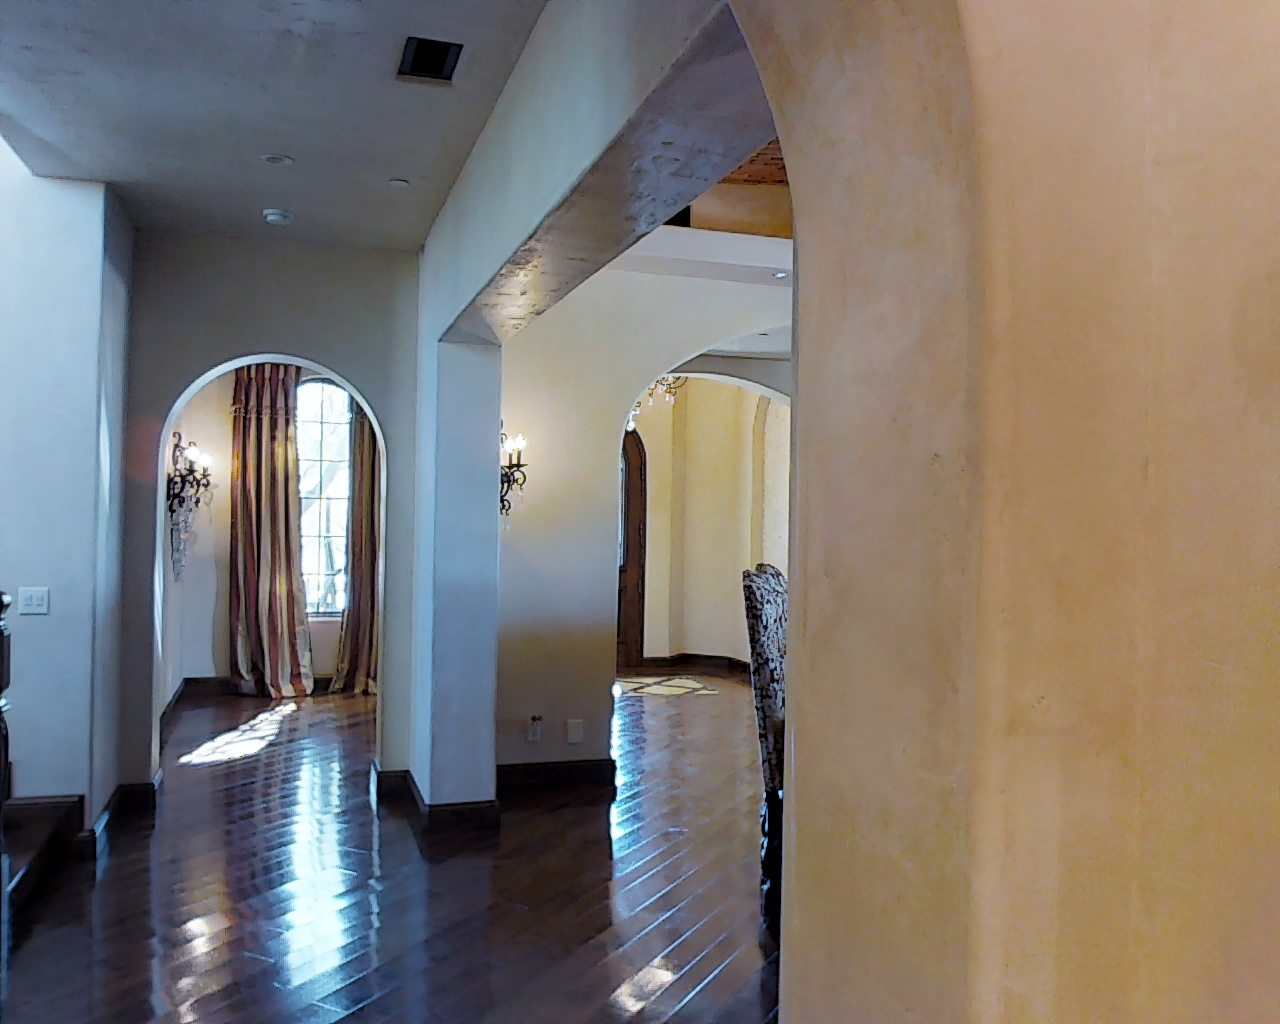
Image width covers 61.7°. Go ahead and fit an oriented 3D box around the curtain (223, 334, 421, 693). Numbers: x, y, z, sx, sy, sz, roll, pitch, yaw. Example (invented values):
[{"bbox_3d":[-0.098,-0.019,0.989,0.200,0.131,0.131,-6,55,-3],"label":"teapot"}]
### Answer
[{"bbox_3d":[-2.730,0.030,9.250,1.540,2.950,0.450,1,0,-18],"label":"curtain"}]
